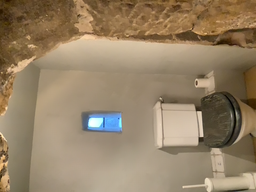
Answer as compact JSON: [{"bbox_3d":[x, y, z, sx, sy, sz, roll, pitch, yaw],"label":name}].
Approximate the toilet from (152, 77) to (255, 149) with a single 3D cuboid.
[{"bbox_3d":[0.630,0.180,1.590,0.700,0.760,0.410,114,157,-75],"label":"toilet"}]
